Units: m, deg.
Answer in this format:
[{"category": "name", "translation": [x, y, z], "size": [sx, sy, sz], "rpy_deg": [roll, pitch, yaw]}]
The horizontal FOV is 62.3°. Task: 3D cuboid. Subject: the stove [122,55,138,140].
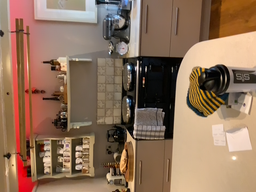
[{"category": "stove", "translation": [0.010, -0.020, 2.760], "size": [0.700, 0.030, 0.980], "rpy_deg": [-145, 57, -76]}]
